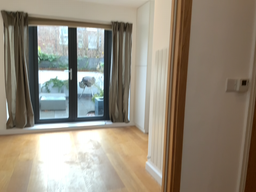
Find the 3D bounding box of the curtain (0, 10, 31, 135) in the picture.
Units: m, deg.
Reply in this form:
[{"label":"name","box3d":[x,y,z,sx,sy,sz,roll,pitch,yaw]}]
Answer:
[{"label":"curtain","box3d":[-1.980,-0.380,3.770,0.430,2.130,0.100,-1,8,-25]}]
